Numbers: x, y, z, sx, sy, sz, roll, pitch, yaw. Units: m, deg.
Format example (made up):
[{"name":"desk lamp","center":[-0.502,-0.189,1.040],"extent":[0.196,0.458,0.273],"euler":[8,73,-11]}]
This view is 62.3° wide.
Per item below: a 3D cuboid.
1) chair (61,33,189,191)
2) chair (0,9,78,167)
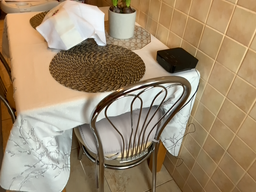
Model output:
[{"name":"chair","center":[-0.060,0.170,1.030],"extent":[0.360,0.810,0.350],"euler":[-12,43,-21]},{"name":"chair","center":[-0.510,-0.010,1.190],"extent":[0.320,0.810,0.310],"euler":[-13,43,-21]}]
